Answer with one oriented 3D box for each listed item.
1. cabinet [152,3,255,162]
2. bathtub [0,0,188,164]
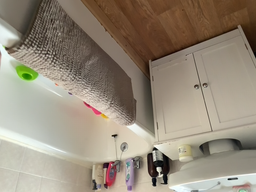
[{"bbox_3d":[0.530,-0.030,1.210,0.610,0.620,0.400,-23,142,30],"label":"cabinet"},{"bbox_3d":[-0.360,-0.120,1.130,0.690,0.530,1.590,-22,143,29],"label":"bathtub"}]
